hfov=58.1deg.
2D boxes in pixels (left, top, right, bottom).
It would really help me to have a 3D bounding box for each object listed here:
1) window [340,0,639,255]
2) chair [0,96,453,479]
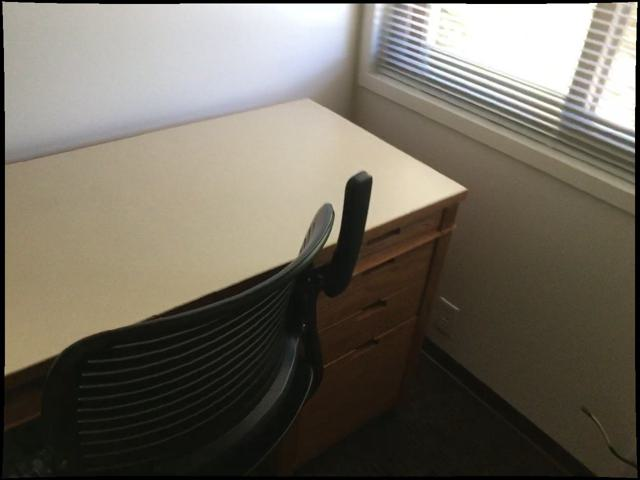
[{"bbox_3d":[0.549,-0.311,1.280,0.180,0.401,1.310,-23,44,-32],"label":"window"},{"bbox_3d":[-0.239,0.351,1.060,0.579,0.972,0.530,-28,47,-36],"label":"chair"}]
